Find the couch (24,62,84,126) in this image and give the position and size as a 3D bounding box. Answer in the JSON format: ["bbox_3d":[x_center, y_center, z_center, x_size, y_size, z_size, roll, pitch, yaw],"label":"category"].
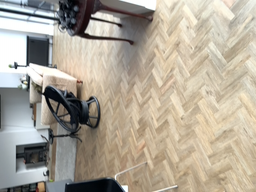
[{"bbox_3d":[-1.690,-0.150,4.580,1.860,0.810,0.980,22,109,56],"label":"couch"}]
